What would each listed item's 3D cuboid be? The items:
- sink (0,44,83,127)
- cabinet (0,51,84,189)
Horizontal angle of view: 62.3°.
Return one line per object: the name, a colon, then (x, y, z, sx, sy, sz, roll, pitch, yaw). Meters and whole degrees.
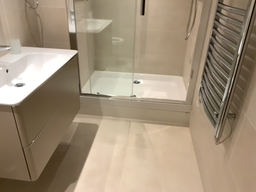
sink: (-0.610, -0.130, 1.300, 0.450, 0.140, 0.840, 3, 28, 3)
cabinet: (-0.620, 0.070, 1.380, 0.440, 0.480, 0.830, 3, 28, 3)
